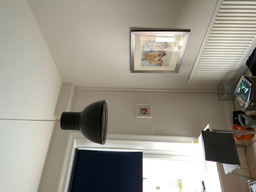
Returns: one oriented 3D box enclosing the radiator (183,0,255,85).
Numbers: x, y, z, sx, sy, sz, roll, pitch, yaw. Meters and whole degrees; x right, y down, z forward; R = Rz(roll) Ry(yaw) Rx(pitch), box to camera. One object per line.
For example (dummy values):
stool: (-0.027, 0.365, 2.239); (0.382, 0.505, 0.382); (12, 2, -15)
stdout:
radiator: (1.430, -0.650, 2.950); (1.490, 0.990, 0.100); (91, -179, -56)

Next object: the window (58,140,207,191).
window: (0.070, 1.270, 3.090); (0.120, 2.080, 1.220); (91, -179, -57)

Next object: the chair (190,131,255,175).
chair: (1.320, 0.740, 2.730); (0.460, 0.860, 0.400); (90, -179, -56)
